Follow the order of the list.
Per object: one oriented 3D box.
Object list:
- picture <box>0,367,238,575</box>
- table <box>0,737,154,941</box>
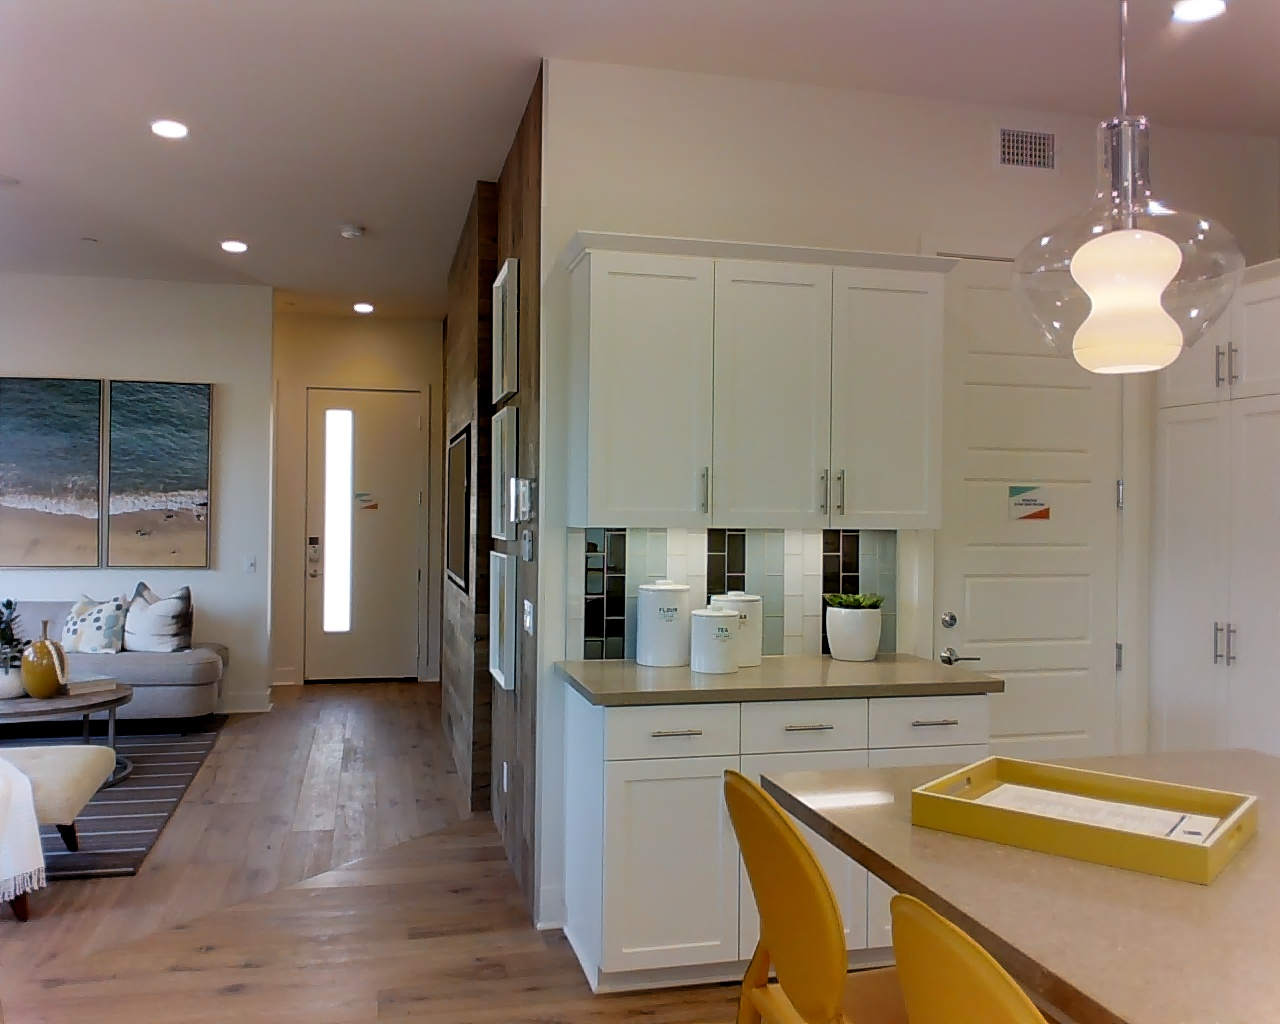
[{"bbox_3d":[-3.918,-0.270,7.340,2.159,1.391,0.090,1,-1,-14],"label":"picture"},{"bbox_3d":[-2.719,1.201,3.980,1.509,0.500,0.930,1,-1,-14],"label":"table"}]
